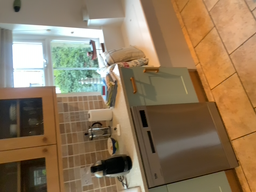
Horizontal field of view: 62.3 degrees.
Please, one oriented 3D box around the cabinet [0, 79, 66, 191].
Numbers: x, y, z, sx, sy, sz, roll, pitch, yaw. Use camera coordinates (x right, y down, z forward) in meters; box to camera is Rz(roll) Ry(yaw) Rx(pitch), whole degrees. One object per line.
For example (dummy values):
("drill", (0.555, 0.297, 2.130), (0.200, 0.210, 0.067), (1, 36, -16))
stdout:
("cabinet", (-0.950, 0.420, 1.680), (0.290, 0.790, 1.090), (128, 134, -57))
